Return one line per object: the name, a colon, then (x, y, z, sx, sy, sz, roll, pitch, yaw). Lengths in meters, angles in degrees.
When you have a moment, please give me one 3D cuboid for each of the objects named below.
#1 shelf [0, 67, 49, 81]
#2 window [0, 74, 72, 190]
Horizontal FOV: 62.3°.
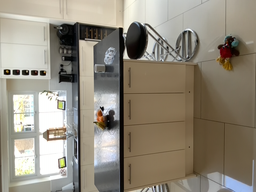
shelf: (-1.860, -0.390, 3.800, 0.200, 0.800, 0.220, -173, 83, -65)
window: (-1.780, 0.630, 4.180, 0.340, 1.250, 2.090, -169, 79, -64)
